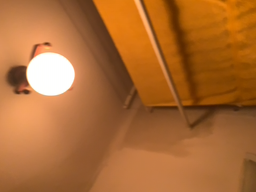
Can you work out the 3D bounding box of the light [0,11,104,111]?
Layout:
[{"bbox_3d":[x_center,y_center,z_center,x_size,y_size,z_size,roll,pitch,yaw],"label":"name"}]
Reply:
[{"bbox_3d":[-0.340,-0.130,0.940,0.270,0.180,0.340,-13,124,43],"label":"light"}]
